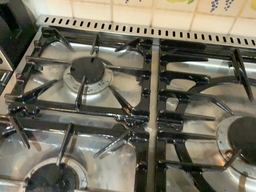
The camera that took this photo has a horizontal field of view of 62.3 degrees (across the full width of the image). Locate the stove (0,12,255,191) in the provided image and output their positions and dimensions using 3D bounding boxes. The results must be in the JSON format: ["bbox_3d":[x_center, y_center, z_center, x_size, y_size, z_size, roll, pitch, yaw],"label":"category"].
[{"bbox_3d":[0.260,0.080,0.440,1.060,0.050,0.630,6,54,0],"label":"stove"}]
